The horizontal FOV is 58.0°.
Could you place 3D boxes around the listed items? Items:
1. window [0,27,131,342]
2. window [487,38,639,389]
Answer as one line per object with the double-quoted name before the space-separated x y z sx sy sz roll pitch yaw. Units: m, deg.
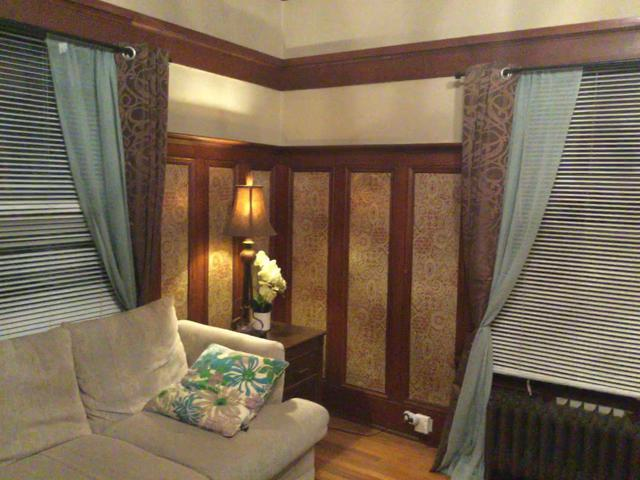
"window" -1.250 -0.210 2.260 0.150 1.190 1.100 0 1 33
"window" 1.370 -0.110 2.530 1.230 1.490 0.140 0 1 33
